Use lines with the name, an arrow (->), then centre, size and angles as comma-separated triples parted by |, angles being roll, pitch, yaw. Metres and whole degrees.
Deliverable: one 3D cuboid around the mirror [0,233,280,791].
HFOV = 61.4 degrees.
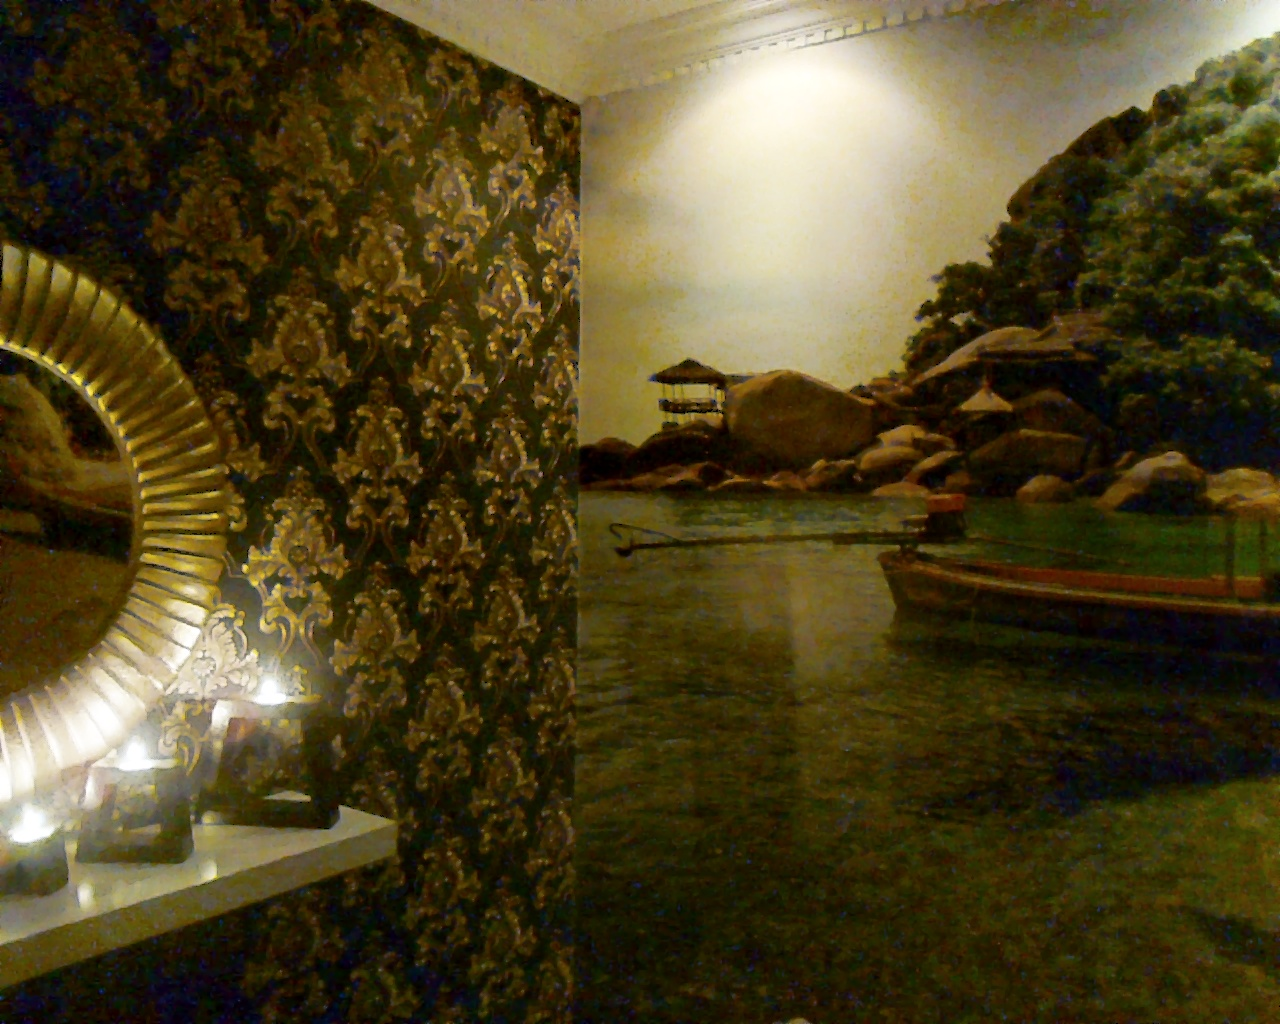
mirror -> -0.830, 0.000, 1.390 | 0.090, 0.700, 0.790 | 0, 0, 36
